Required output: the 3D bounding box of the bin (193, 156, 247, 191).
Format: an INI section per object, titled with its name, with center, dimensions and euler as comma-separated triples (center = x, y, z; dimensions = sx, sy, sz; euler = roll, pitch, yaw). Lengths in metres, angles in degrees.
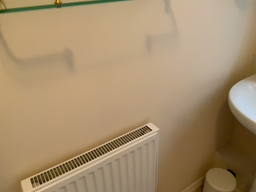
[bin]
center = 0.550, 0.570, 1.300
dimensions = 0.220, 0.260, 0.190
euler = -23, 36, -32
